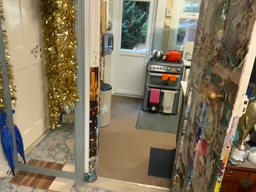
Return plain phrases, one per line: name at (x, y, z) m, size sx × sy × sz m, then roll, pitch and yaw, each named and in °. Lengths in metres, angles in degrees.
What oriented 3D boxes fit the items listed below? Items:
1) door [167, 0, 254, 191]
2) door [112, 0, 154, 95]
door at (0.430, 0.080, 1.370) m, size 0.030 × 1.940 × 0.890 m, roll 5°, pitch 20°, yaw 4°
door at (0.070, -0.960, 4.210) m, size 0.710 × 1.870 × 0.050 m, roll 7°, pitch 20°, yaw 8°
